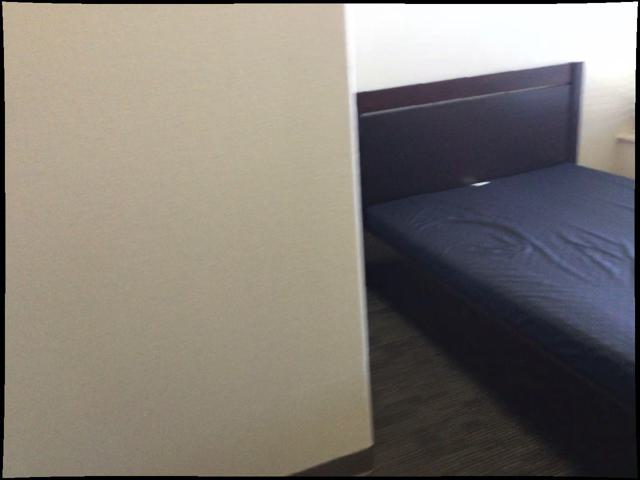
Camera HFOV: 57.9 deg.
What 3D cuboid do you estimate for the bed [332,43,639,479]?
[{"bbox_3d":[1.169,-0.080,2.220,1.499,1.011,2.140,-14,24,-15],"label":"bed"}]
